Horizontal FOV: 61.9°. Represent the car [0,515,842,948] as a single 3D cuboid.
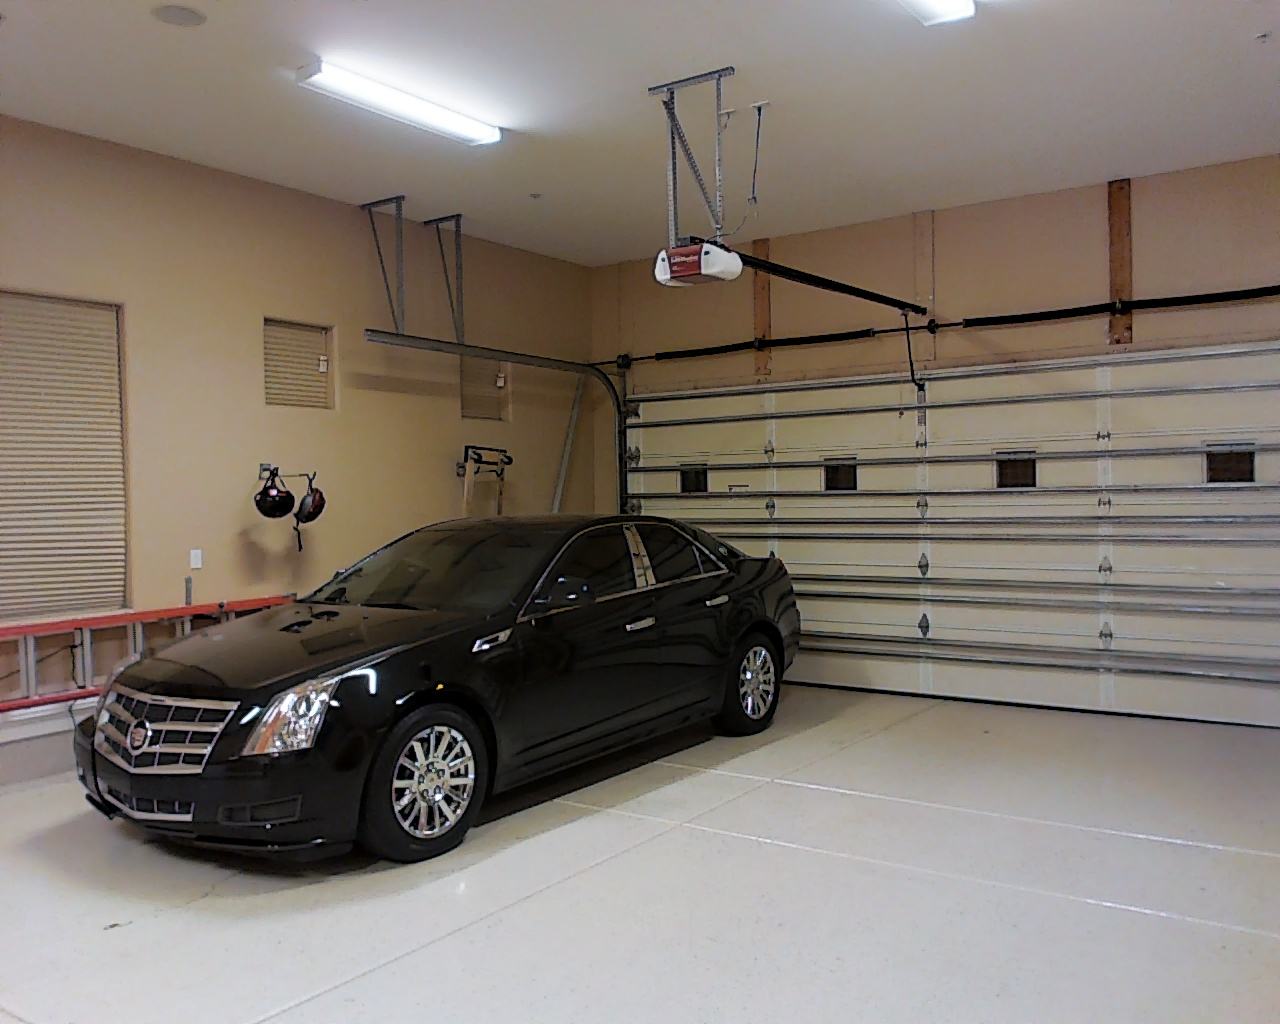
[{"bbox_3d":[-0.730,0.780,6.370,1.880,1.410,5.080,0,1,35],"label":"car"}]
